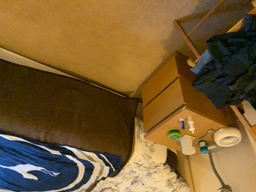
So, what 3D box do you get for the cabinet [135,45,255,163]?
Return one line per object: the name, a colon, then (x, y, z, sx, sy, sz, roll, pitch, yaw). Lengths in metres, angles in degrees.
cabinet: (0.450, 0.090, 1.610, 0.610, 0.550, 0.490, 23, 135, -25)
